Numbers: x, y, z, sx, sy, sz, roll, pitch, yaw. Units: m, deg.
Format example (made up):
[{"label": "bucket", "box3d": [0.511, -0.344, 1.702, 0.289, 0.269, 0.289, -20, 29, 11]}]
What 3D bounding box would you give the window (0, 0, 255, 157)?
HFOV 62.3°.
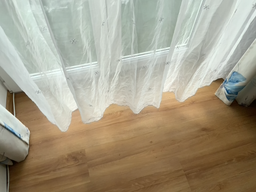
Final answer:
[{"label": "window", "box3d": [0.040, -0.560, 0.330, 2.020, 2.610, 0.130, -14, 61, -10]}]
